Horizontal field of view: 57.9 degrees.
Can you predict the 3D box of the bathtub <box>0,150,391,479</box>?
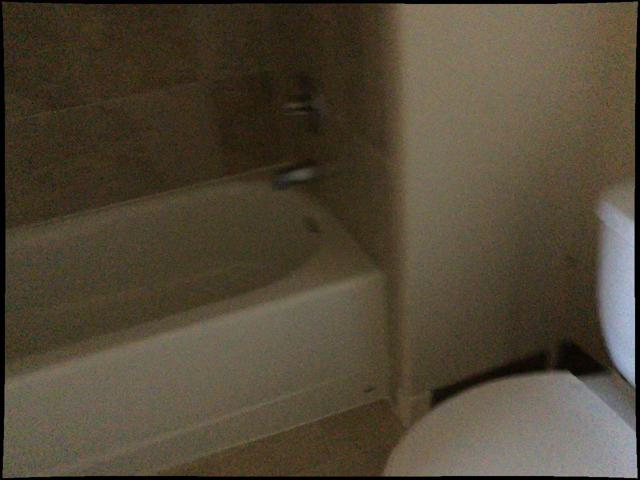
[{"bbox_3d":[-0.629,0.270,1.660,1.469,0.480,0.750,-16,35,-15],"label":"bathtub"}]
